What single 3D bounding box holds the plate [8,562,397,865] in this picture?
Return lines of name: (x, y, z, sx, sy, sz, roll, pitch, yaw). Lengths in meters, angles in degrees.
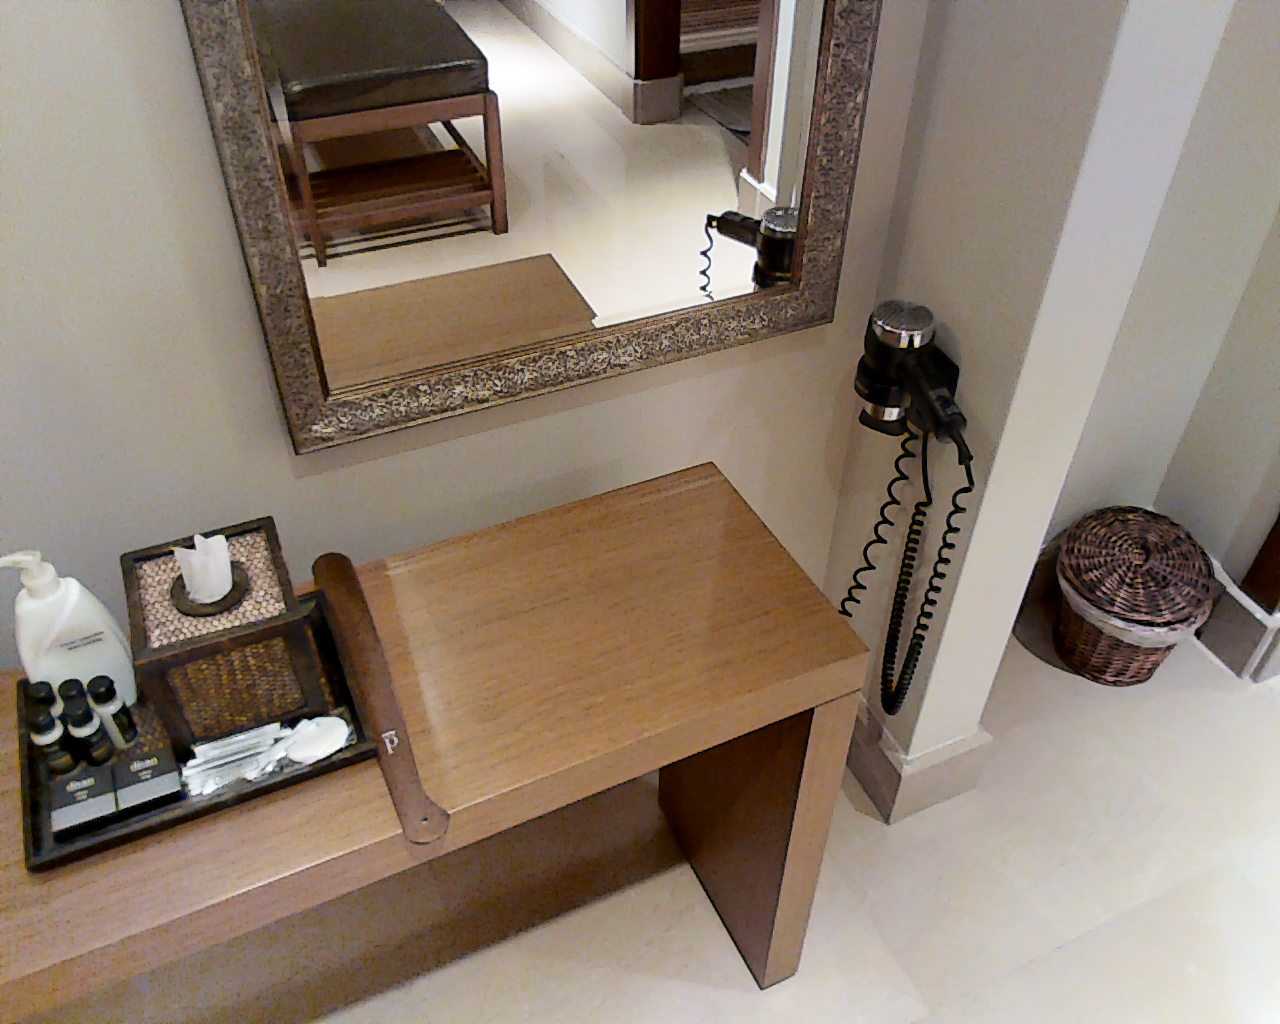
plate: (-0.430, 0.180, 1.050, 0.330, 0.030, 0.230, -16, 45, -17)
